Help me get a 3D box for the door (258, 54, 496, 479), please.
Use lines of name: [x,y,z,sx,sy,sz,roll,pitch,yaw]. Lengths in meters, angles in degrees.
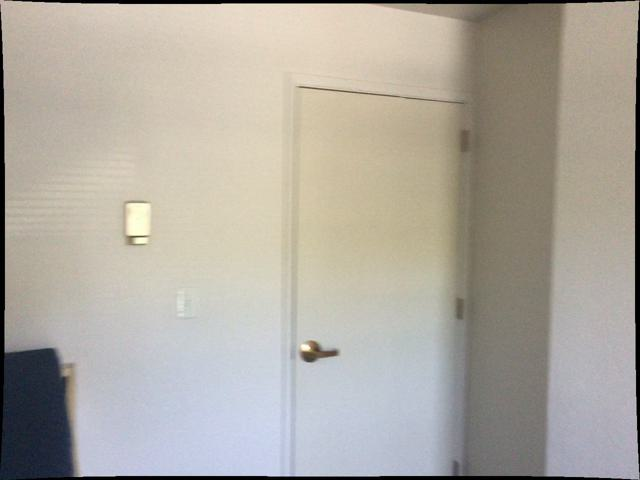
door: [0.250,0.391,2.440,0.969,2.143,0.090,2,3,-24]
